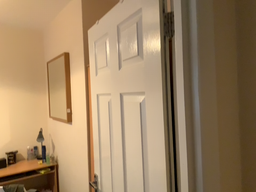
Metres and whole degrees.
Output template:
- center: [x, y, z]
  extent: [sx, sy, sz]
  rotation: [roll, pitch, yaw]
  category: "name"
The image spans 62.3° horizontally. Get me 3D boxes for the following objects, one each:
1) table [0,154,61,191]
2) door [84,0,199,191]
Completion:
- center: [-1.270, 1.200, 2.550]
  extent: [0.780, 0.750, 0.440]
  rotation: [-3, 1, -35]
  category: "table"
- center: [0.000, 0.520, 1.040]
  extent: [0.070, 2.020, 0.850]
  rotation: [-3, 1, -29]
  category: "door"
